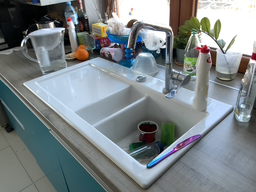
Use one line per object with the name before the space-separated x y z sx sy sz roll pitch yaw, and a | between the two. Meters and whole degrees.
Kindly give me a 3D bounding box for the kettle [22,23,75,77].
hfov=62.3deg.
kettle | -0.450 -0.270 1.230 0.210 0.240 0.110 -27 38 -33
